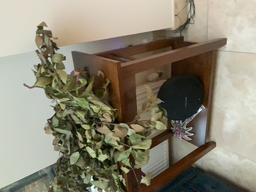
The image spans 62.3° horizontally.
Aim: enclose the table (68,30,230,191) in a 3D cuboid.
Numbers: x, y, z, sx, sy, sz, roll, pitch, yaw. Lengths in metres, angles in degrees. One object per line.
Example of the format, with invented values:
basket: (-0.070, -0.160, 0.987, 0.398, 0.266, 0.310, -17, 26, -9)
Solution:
table: (0.150, 0.070, 1.190, 0.380, 0.740, 0.750, 24, 125, 47)
